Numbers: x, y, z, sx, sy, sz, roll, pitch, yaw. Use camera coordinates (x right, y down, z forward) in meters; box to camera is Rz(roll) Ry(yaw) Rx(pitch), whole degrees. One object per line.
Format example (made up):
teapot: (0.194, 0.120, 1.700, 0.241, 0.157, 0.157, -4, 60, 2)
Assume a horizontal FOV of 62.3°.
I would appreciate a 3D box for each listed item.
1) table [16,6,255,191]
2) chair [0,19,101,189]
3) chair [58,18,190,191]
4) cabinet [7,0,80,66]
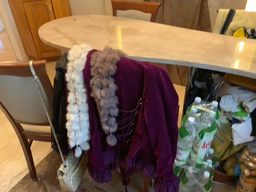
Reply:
table: (0.450, 0.040, 1.500, 2.470, 0.890, 0.700, 18, 41, 25)
chair: (-0.510, 0.070, 1.430, 0.420, 0.990, 0.570, 2, 37, 7)
chair: (0.030, 0.110, 1.350, 0.470, 0.990, 0.530, 15, 40, 22)
cabinet: (-1.140, -0.980, 2.980, 0.540, 0.840, 0.570, 18, 41, 26)
